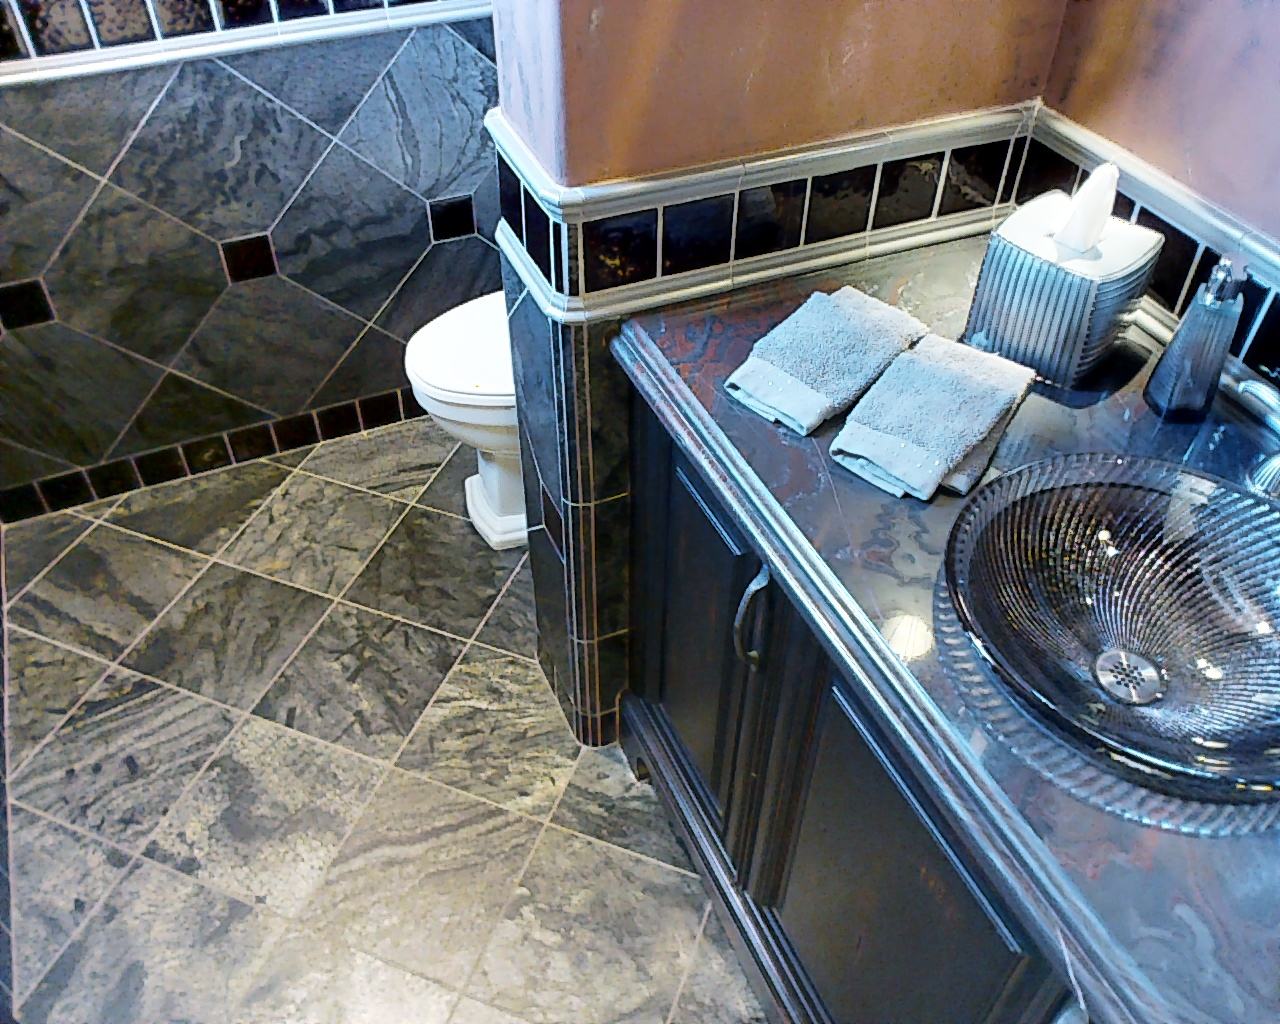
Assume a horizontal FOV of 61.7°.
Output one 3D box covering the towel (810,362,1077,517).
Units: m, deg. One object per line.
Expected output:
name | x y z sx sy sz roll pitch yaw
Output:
towel | 0.310 -0.080 1.130 0.230 0.050 0.190 -1 44 -1

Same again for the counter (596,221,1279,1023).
counter | 0.500 0.110 0.960 0.640 0.030 1.300 -17 46 -17

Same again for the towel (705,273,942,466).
towel | 0.210 -0.170 1.220 0.160 0.060 0.240 29 51 27
